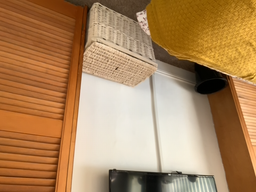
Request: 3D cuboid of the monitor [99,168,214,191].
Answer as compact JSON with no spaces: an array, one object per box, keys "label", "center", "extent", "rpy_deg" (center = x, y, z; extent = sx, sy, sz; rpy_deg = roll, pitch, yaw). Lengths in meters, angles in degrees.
[{"label":"monitor","center":[0.240,0.740,1.350],"extent":[0.890,0.490,0.090],"rpy_deg":[13,148,-28]}]
